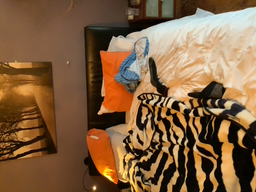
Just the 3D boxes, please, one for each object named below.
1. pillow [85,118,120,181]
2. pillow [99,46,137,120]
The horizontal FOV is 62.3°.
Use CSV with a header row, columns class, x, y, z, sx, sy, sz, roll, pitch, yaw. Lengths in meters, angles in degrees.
class,x,y,z,sx,sy,sz,roll,pitch,yaw
pillow,-0.330,0.670,2.720,0.390,0.330,0.620,-143,51,-62
pillow,-0.110,-0.150,2.290,0.260,0.320,0.730,-143,51,-62
